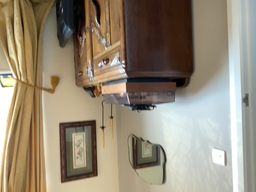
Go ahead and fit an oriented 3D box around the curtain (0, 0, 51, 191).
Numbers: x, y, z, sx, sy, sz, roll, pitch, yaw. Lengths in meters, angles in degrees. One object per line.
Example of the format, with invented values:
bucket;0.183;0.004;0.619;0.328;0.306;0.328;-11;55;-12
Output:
curtain;-1.090;0.210;2.030;0.560;2.620;0.380;-3;-179;-25
